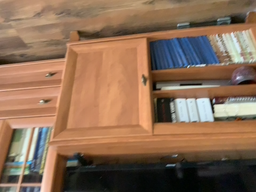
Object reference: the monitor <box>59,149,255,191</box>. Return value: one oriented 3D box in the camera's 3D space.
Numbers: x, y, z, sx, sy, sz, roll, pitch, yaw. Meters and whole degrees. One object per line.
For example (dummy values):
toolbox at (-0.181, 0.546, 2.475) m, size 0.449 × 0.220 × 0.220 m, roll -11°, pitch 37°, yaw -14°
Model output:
monitor at (0.200, 0.600, 0.930) m, size 1.090 × 0.680 × 0.080 m, roll -5°, pitch 150°, yaw 9°

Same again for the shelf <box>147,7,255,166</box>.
shelf at (0.450, -0.030, 1.280) m, size 0.610 × 0.760 × 0.510 m, roll -4°, pitch 150°, yaw 7°
